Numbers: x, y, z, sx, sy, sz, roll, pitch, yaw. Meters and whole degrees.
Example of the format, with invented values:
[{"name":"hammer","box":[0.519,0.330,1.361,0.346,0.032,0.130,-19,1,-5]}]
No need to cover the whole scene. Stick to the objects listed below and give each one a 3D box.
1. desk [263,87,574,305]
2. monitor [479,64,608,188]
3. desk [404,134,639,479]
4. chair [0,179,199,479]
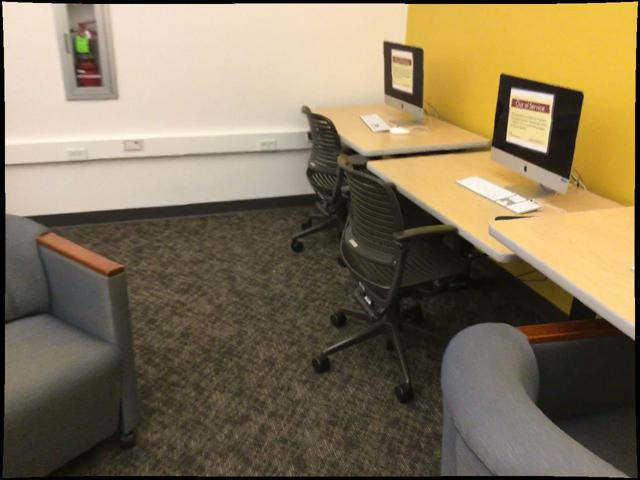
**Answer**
[{"name":"desk","box":[0.360,-0.400,3.270,0.939,0.570,1.810,-7,26,-18]},{"name":"monitor","box":[0.859,-0.470,2.300,0.130,0.370,0.510,-7,26,-18]},{"name":"desk","box":[1.189,0.100,2.490,1.049,0.761,1.460,-7,24,-18]},{"name":"chair","box":[-0.999,0.350,1.730,0.869,0.711,0.840,17,29,30]}]
